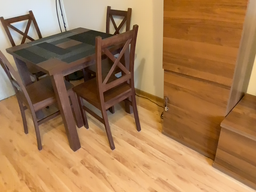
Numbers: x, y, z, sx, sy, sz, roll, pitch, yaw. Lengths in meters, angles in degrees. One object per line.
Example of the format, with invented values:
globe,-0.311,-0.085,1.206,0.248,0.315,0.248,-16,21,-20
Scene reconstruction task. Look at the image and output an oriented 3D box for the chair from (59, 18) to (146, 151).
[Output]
chair,-0.170,-0.100,1.770,0.400,0.930,0.470,-29,40,-34
